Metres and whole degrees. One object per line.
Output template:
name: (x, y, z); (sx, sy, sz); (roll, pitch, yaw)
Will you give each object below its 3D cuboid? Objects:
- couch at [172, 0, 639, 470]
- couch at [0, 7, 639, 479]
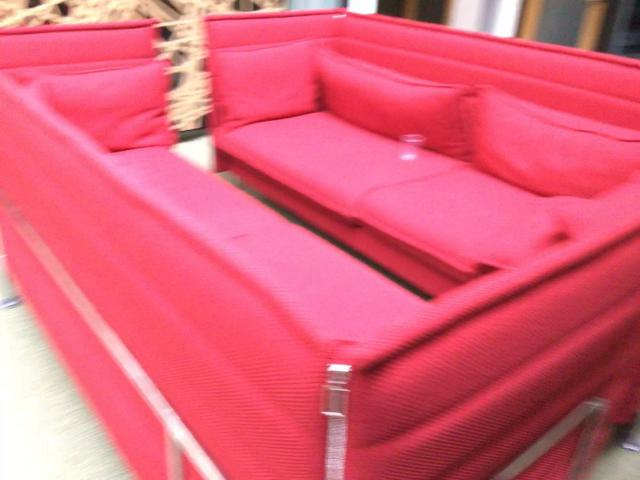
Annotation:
couch: (0.430, -0.400, 2.420); (0.980, 0.880, 2.490); (-20, 34, -33)
couch: (-0.400, -0.090, 1.760); (0.930, 0.880, 2.450); (-20, 34, -33)
